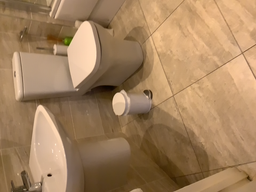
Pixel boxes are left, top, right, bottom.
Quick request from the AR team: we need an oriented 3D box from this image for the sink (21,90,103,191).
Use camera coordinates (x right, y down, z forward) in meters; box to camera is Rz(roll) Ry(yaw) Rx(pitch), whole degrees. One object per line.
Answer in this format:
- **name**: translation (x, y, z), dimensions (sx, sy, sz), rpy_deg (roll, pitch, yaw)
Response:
- **sink**: translation (-0.370, 0.280, 1.040), dimensions (0.560, 0.170, 0.440), rpy_deg (36, 120, 47)

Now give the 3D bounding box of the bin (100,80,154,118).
- **bin**: translation (-0.010, 0.020, 1.550), dimensions (0.200, 0.290, 0.190), rpy_deg (-46, 56, 44)

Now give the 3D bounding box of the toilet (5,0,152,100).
- **toilet**: translation (-0.380, -0.280, 1.560), dimensions (0.640, 0.830, 0.380), rpy_deg (-36, 63, 48)
